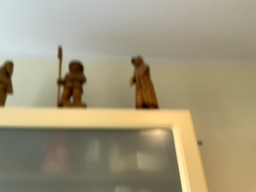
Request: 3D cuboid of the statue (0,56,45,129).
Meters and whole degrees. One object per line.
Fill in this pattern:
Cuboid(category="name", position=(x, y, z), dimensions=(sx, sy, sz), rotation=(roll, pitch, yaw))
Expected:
Cuboid(category="statue", position=(-0.490, -0.020, 0.870), dimensions=(0.200, 0.280, 0.120), rotation=(0, -36, -3))

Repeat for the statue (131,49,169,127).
Cuboid(category="statue", position=(0.080, -0.040, 0.910), dimensions=(0.120, 0.310, 0.140), rotation=(1, -36, -3))

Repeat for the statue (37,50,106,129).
Cuboid(category="statue", position=(-0.230, -0.040, 0.960), dimensions=(0.240, 0.360, 0.120), rotation=(0, -36, -3))
